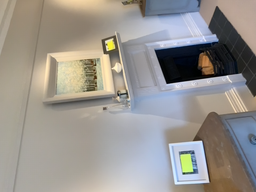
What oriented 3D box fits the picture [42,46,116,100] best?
[{"bbox_3d":[-0.550,-0.290,2.410,0.060,0.750,0.690,90,171,-52],"label":"picture"}]
